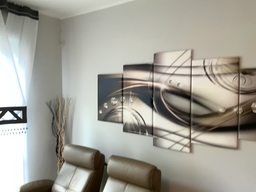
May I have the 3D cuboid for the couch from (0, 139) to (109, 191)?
[{"bbox_3d":[-0.800,1.090,2.310,0.760,0.960,0.930,3,3,35],"label":"couch"}]
